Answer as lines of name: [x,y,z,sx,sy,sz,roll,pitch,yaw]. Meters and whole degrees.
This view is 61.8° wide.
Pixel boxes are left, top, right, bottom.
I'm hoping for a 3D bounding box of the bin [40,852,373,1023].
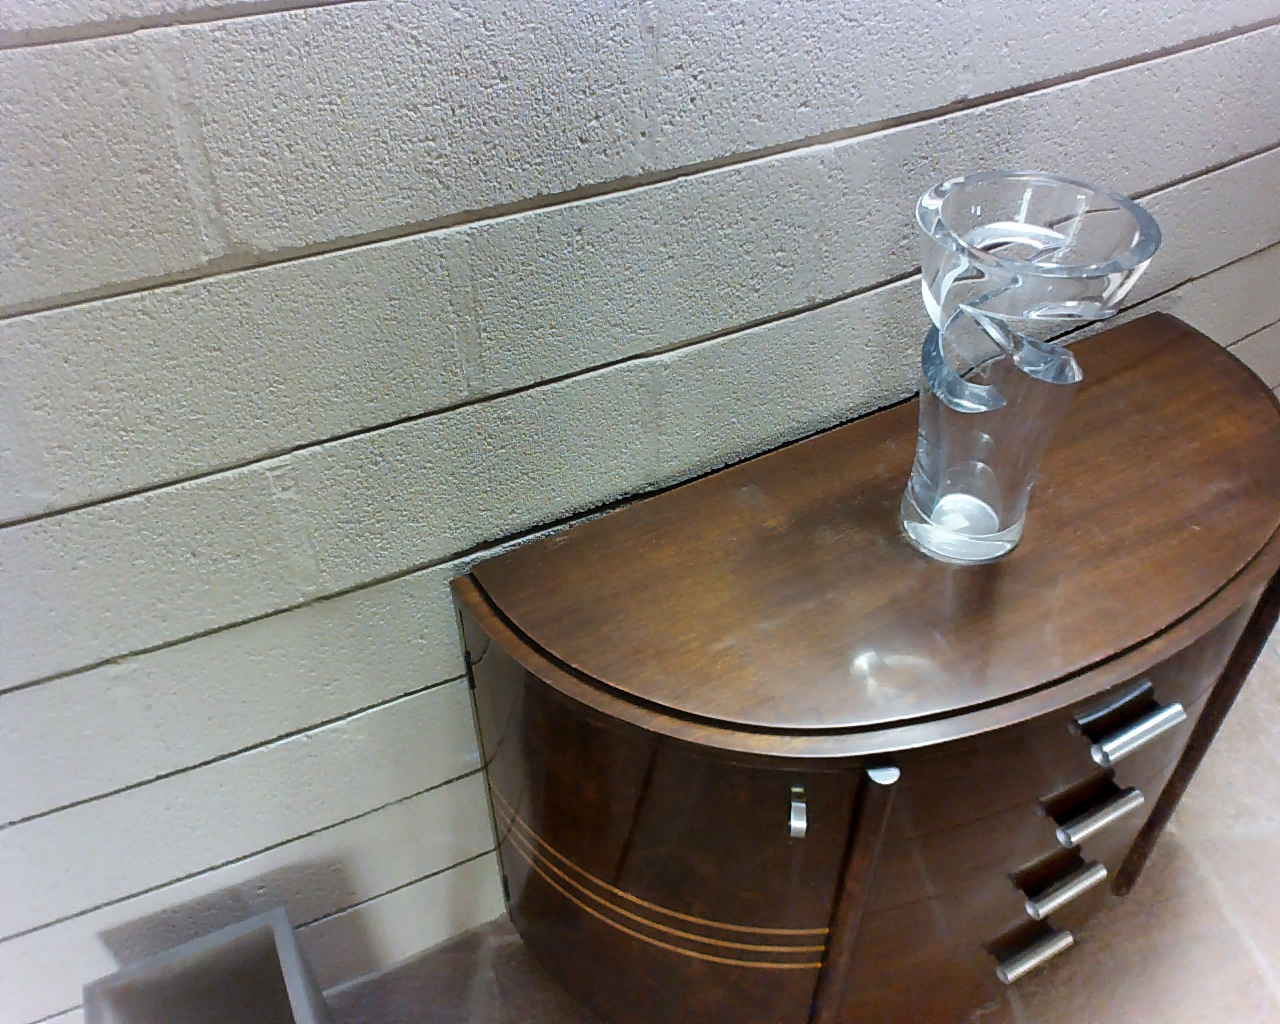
bin: [-0.520,0.770,1.420,0.340,0.430,0.330,-19,44,-21]
